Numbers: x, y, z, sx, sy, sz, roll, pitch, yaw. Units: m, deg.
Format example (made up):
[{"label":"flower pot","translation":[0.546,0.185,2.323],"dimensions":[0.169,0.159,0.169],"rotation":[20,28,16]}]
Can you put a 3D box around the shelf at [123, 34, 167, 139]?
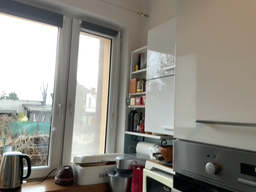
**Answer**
[{"label":"shelf","translation":[0.140,-0.070,1.880],"dimensions":[0.100,0.830,0.440],"rotation":[6,-6,-32]}]
